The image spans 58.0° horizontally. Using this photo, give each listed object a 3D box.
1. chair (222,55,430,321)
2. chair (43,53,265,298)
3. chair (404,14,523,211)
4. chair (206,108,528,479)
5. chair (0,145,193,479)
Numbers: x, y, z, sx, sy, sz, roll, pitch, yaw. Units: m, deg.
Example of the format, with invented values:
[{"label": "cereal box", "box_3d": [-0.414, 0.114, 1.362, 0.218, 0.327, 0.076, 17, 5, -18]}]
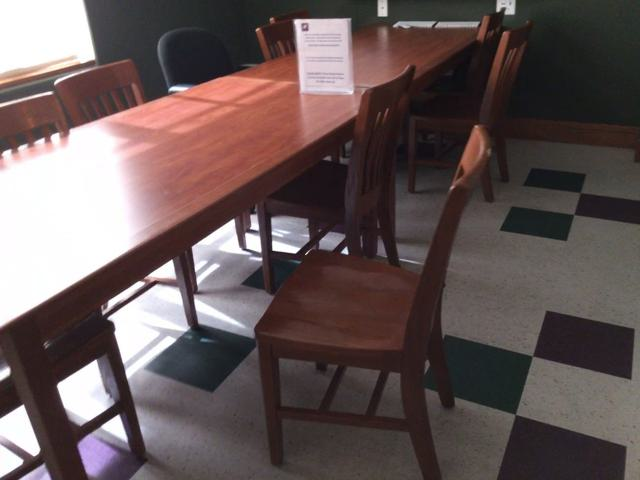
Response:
[{"label": "chair", "box_3d": [0.060, -0.240, 2.330, 0.600, 0.870, 0.530, 10, 30, 24]}, {"label": "chair", "box_3d": [-0.670, -0.310, 2.530, 0.590, 0.880, 0.530, 10, 30, 24]}, {"label": "chair", "box_3d": [0.760, -0.700, 3.080, 0.440, 0.870, 0.610, 10, 30, 24]}, {"label": "chair", "box_3d": [0.160, 0.170, 1.550, 0.590, 0.880, 0.550, 10, 30, 24]}, {"label": "chair", "box_3d": [-0.770, 0.290, 1.400, 0.570, 0.880, 0.540, 10, 30, 23]}]
